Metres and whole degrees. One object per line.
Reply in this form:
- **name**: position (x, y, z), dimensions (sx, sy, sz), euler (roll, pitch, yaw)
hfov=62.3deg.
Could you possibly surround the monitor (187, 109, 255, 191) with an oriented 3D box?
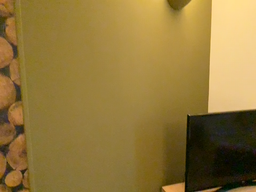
- **monitor**: position (0.880, 0.410, 1.610), dimensions (0.960, 0.600, 0.050), euler (-3, 9, -19)
